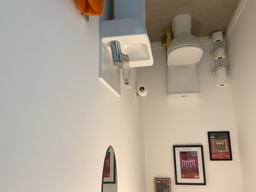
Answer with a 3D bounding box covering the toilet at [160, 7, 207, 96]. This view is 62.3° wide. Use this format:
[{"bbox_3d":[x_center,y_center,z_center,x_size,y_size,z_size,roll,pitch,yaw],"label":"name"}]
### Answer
[{"bbox_3d":[0.600,-0.450,2.420,0.390,0.770,0.670,-3,168,11],"label":"toilet"}]
